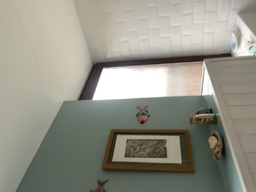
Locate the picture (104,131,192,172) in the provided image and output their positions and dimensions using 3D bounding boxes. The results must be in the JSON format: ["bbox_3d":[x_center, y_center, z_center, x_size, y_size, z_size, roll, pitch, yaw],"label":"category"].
[{"bbox_3d":[0.110,0.300,1.180,0.240,0.450,0.030,-81,-15,-49],"label":"picture"}]
